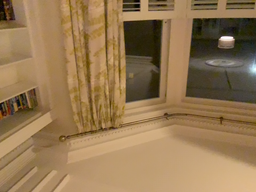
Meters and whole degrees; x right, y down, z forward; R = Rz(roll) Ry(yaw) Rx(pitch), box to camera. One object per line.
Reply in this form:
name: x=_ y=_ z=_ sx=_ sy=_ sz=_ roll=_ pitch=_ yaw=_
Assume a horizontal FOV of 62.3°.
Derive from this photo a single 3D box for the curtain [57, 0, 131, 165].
curtain: x=-0.280 y=-0.880 z=1.810 sx=0.510 sy=3.200 sz=0.390 roll=7 pitch=-157 yaw=18
